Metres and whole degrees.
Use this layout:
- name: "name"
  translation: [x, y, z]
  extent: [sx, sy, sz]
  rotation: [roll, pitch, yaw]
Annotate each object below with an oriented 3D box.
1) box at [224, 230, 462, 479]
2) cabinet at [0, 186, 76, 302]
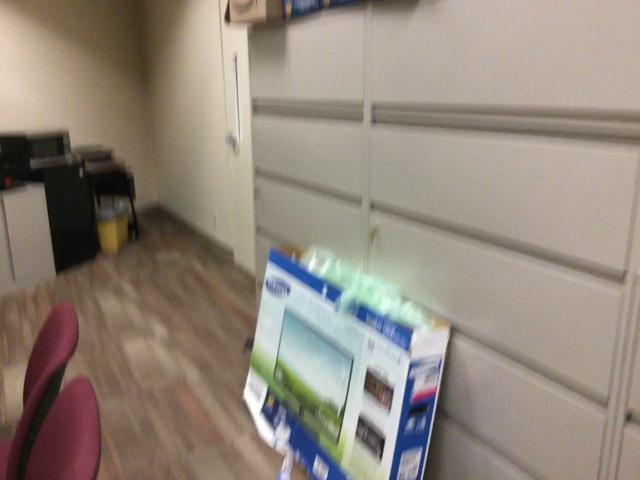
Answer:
- name: "box"
  translation: [-0.010, 0.460, 2.260]
  extent: [0.250, 0.800, 1.160]
  rotation: [7, 7, -29]
- name: "cabinet"
  translation: [-2.050, 0.010, 3.850]
  extent: [0.350, 0.660, 0.650]
  rotation: [7, 13, 30]
